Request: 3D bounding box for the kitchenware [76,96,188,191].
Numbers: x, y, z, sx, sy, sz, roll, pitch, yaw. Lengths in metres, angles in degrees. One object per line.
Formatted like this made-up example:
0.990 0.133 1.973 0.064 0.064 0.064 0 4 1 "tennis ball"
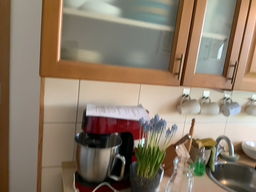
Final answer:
-0.020 0.230 1.060 0.400 0.360 0.410 3 12 -20 "kitchenware"
